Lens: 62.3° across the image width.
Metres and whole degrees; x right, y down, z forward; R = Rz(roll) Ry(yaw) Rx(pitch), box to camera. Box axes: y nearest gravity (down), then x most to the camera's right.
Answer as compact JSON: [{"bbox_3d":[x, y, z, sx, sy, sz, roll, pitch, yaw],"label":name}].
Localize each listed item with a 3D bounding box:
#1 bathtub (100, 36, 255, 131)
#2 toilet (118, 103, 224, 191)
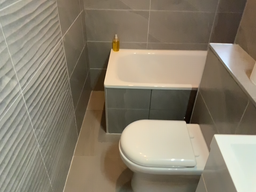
[{"bbox_3d":[0.640,-0.130,1.910,1.670,0.540,0.670,2,36,0],"label":"bathtub"},{"bbox_3d":[0.200,0.350,1.280,0.500,0.460,0.370,2,36,0],"label":"toilet"}]
